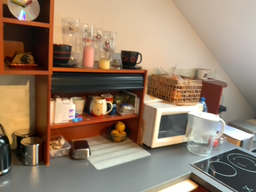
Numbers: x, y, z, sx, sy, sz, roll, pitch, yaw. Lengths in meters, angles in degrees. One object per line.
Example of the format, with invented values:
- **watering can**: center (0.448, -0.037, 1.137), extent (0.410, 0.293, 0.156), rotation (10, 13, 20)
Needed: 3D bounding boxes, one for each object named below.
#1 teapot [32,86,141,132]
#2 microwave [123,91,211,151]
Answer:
- **teapot**: center (-0.270, 0.050, 1.350), extent (0.580, 0.150, 0.380), rotation (-2, 16, -31)
- **microwave**: center (0.280, 0.150, 1.580), extent (0.470, 0.280, 0.390), rotation (-2, 16, -32)
